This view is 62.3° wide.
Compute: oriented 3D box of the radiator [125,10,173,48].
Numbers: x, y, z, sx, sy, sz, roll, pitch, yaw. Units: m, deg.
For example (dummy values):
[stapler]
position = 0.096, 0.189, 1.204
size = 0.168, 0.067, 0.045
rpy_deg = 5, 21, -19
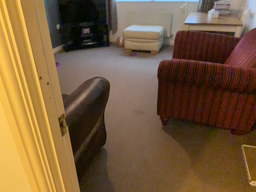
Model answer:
[radiator]
position = 0.440, -1.490, 4.700
size = 1.030, 0.750, 0.100
rpy_deg = 8, 29, 17

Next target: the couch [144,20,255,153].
[couch]
position = 0.840, -0.260, 2.290
size = 1.000, 0.830, 1.370
rpy_deg = 8, 29, 17

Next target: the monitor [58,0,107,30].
[monitor]
position = -0.910, -1.730, 4.380
size = 0.960, 0.630, 0.040
rpy_deg = -14, 31, -22
